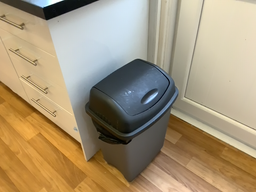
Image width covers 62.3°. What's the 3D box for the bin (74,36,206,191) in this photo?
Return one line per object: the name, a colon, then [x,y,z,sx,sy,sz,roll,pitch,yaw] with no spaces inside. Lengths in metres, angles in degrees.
bin: [0.080,0.100,1.140,0.340,0.590,0.540,26,49,26]
